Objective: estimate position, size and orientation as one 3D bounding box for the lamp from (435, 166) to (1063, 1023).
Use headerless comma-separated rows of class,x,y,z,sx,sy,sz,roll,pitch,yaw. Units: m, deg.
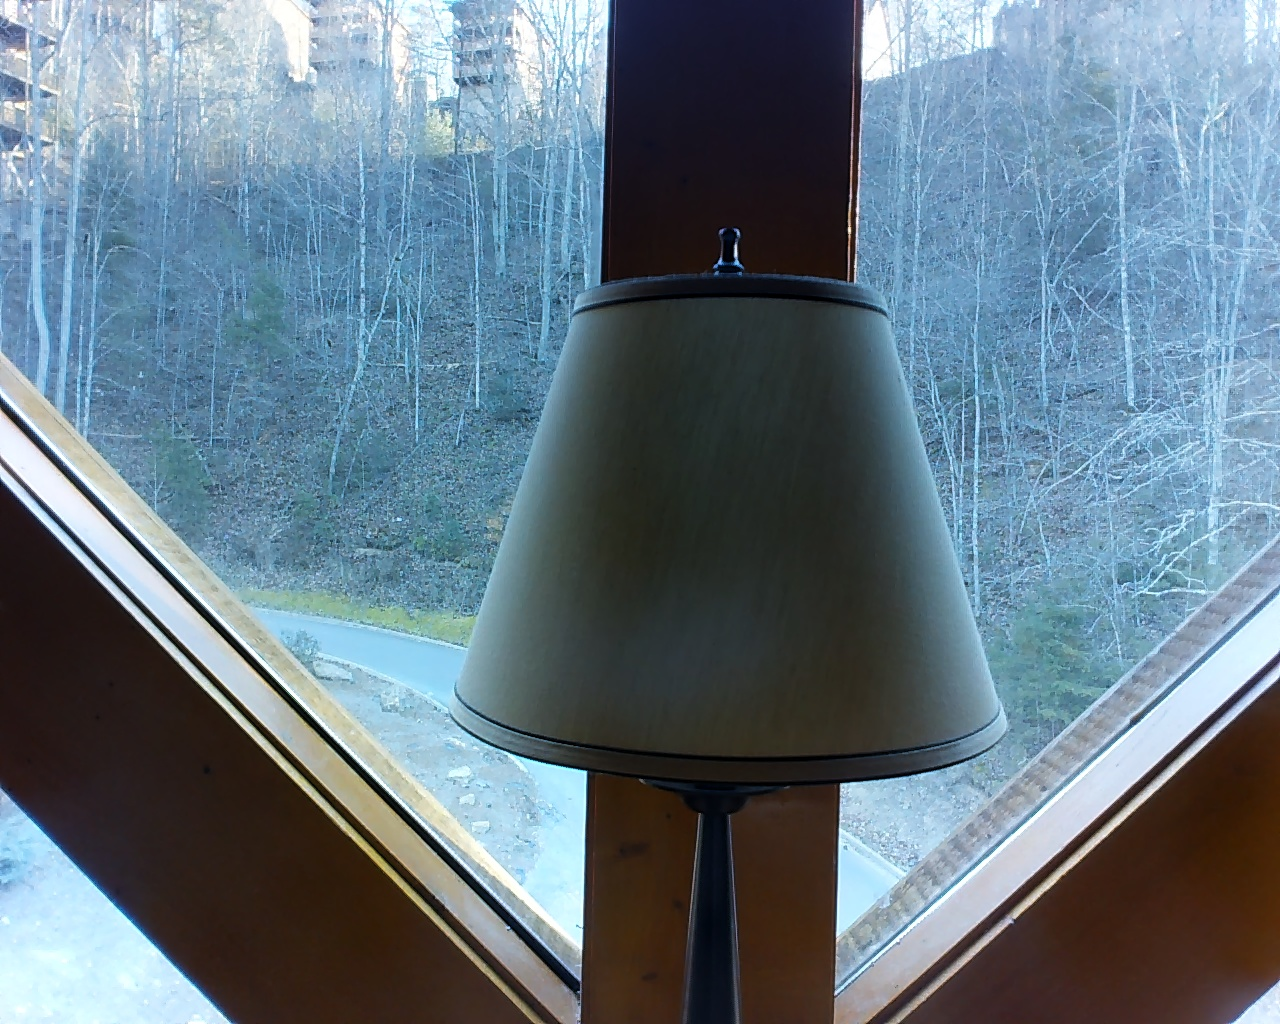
lamp,0.050,0.180,0.670,0.290,0.690,0.300,1,1,1
